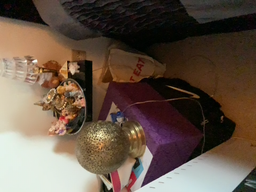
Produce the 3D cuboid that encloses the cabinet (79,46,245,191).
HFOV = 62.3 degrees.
[{"bbox_3d":[0.140,0.110,1.060,0.530,0.450,0.440,48,123,31],"label":"cabinet"}]
